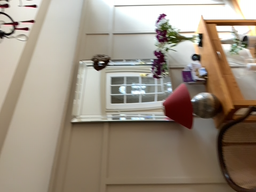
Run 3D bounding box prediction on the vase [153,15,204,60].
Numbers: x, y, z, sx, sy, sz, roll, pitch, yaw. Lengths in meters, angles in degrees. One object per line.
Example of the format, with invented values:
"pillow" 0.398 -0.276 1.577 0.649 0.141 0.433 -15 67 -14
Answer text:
"vase" 0.540 -0.660 2.390 0.320 0.460 0.390 90 180 -54
